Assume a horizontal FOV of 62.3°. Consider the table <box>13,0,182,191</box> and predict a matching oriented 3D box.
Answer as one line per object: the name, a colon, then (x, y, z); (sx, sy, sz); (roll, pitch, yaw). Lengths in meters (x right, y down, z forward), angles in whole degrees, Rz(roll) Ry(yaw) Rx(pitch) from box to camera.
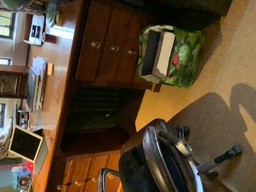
table: (-0.400, -0.020, 1.910); (0.930, 0.840, 1.640); (34, 115, 46)
